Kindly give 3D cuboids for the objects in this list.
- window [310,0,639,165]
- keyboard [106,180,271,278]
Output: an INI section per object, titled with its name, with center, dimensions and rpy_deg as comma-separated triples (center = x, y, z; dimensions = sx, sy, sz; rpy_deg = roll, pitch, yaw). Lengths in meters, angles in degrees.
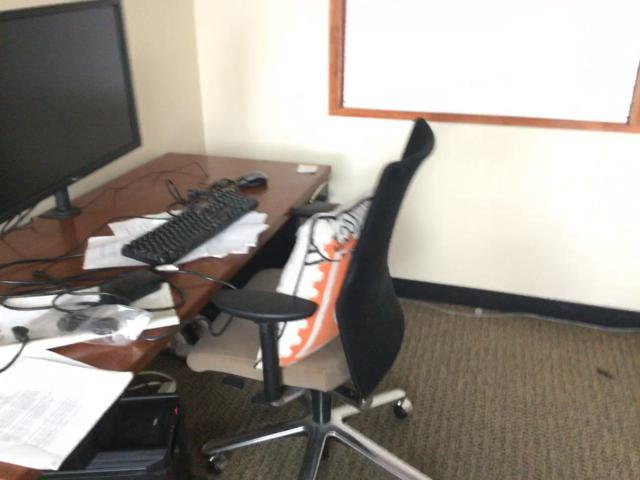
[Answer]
[window]
center = 0.590, -0.740, 2.050
dimensions = 1.240, 0.880, 0.200
rpy_deg = 4, 24, 16
[keyboard]
center = -0.320, -0.050, 1.540
dimensions = 0.200, 0.060, 0.520
rpy_deg = 4, 24, 16
